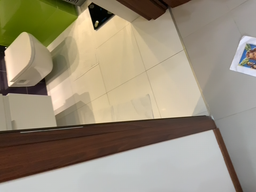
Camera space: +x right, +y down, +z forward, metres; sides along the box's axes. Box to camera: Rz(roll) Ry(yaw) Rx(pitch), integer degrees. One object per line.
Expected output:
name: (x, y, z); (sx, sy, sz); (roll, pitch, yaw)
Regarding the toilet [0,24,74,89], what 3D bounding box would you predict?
toilet: (-0.960, -0.370, 2.220); (0.540, 0.460, 0.370); (-28, 71, 32)
